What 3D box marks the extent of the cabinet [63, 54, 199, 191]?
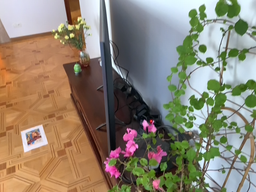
[{"bbox_3d":[-0.150,0.190,1.920,0.480,0.450,1.710,-15,38,-19],"label":"cabinet"}]
